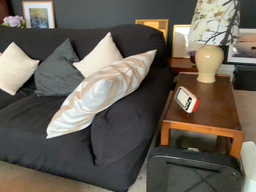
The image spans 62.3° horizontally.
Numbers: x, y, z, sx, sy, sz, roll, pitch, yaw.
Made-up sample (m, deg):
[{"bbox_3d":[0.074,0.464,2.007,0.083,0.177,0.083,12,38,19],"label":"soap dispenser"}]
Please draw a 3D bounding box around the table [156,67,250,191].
[{"bbox_3d":[0.500,0.170,1.520,0.430,0.470,0.870,6,28,16],"label":"table"}]
